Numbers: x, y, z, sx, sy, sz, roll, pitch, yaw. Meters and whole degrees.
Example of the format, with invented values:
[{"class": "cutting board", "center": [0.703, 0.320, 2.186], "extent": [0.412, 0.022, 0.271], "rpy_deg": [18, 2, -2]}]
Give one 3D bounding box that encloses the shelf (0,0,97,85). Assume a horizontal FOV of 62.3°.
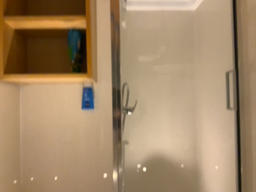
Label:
[{"class": "shelf", "center": [-0.390, -0.600, 1.070], "extent": [0.430, 1.060, 0.310], "rpy_deg": [-1, 179, -4]}]
